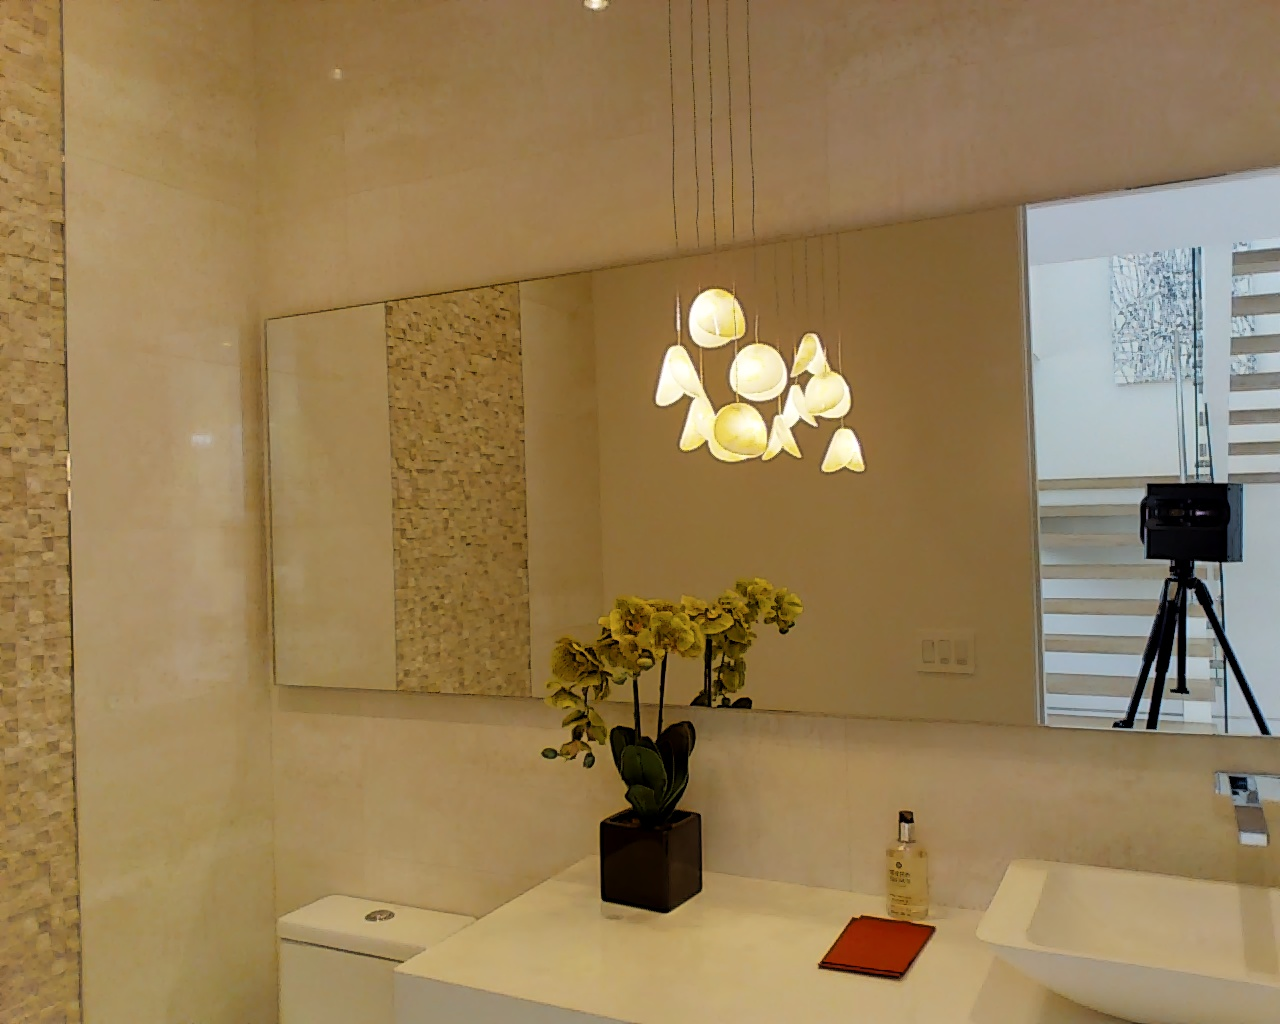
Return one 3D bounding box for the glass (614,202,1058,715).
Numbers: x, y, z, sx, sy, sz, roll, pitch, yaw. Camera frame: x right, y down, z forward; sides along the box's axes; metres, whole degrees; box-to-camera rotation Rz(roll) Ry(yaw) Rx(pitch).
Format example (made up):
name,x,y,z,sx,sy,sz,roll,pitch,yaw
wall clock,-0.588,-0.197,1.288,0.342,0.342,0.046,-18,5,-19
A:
name,x,y,z,sx,sy,sz,roll,pitch,yaw
glass,0.560,-0.130,3.360,1.340,1.431,0.140,-2,-1,27
